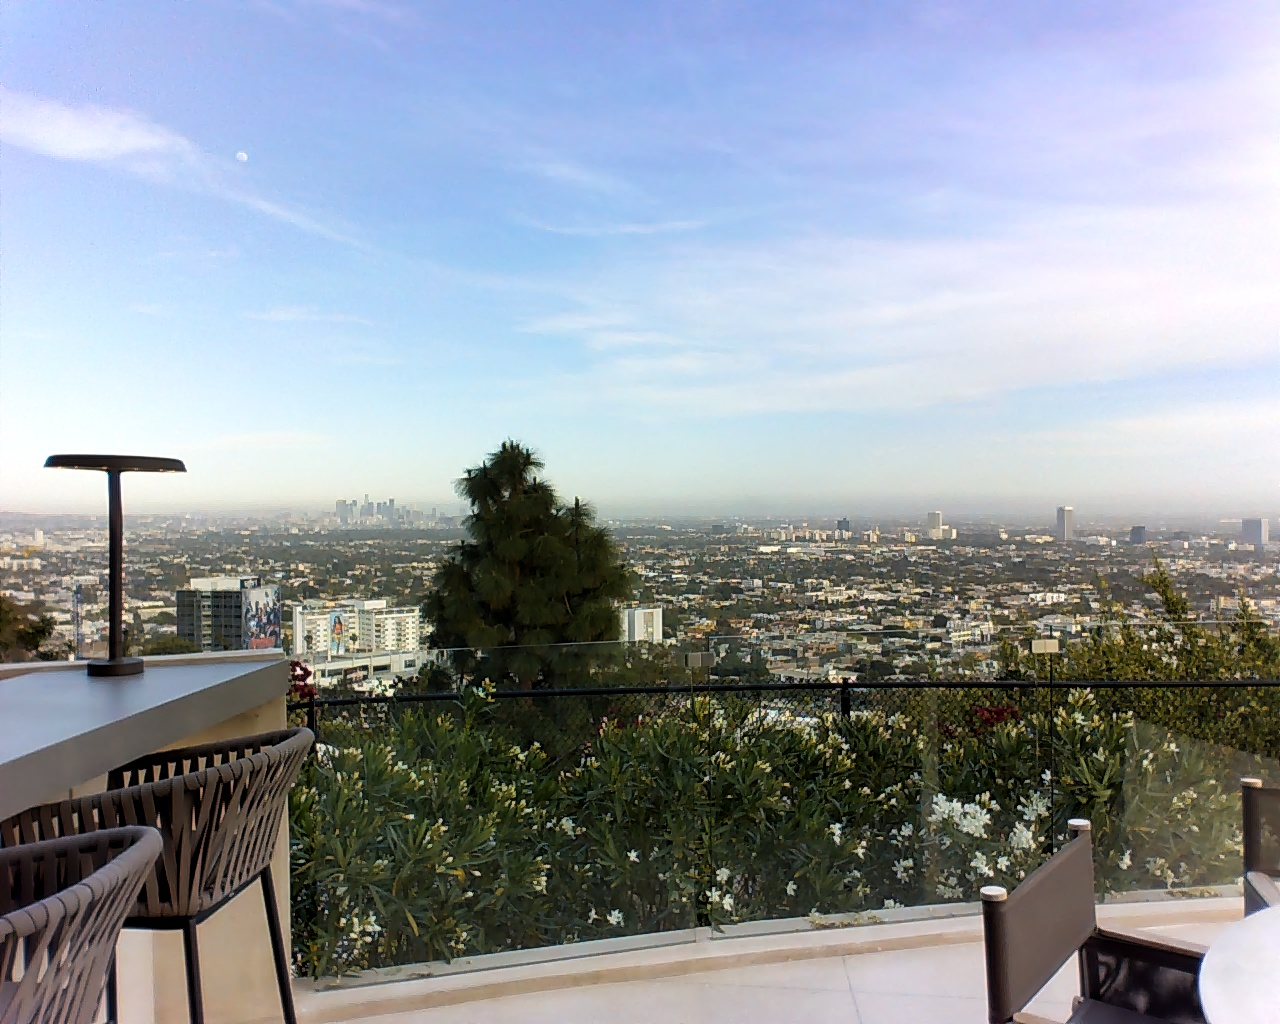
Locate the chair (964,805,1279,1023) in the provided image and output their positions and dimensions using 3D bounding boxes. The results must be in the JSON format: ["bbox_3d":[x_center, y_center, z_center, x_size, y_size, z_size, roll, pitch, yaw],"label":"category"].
[{"bbox_3d":[1.040,1.090,1.990,0.600,0.840,0.740,-1,0,39],"label":"chair"}]
